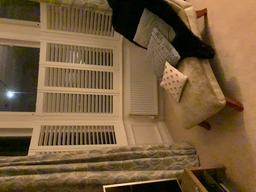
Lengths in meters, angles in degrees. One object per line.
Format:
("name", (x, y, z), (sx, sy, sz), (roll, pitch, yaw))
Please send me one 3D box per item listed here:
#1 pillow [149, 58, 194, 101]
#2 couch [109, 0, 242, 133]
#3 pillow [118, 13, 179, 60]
("pillow", (0.400, -0.140, 2.010), (0.380, 0.330, 0.120), (-31, 71, -1))
("couch", (0.340, -0.410, 2.180), (0.640, 0.870, 1.420), (119, 149, -58))
("pillow", (0.220, -0.610, 2.290), (0.500, 0.420, 0.140), (-19, 68, 31))
